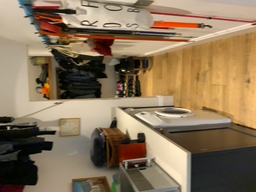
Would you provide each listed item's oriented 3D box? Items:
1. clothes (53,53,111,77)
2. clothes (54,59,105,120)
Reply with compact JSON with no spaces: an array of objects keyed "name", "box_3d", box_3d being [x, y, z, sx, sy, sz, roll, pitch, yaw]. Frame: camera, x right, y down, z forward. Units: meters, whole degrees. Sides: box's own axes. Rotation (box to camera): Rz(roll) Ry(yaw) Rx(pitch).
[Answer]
[{"name":"clothes","box_3d":[-0.910,-0.600,4.120,1.190,0.940,0.390,-155,64,-72]},{"name":"clothes","box_3d":[-1.050,-0.160,4.660,0.270,1.020,1.290,-153,62,-72]}]
